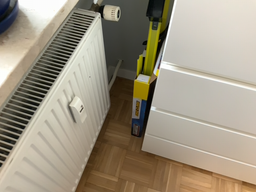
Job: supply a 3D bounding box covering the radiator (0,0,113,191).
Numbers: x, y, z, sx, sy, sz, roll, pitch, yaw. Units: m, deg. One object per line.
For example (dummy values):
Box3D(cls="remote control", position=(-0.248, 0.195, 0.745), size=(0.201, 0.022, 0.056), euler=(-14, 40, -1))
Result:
Box3D(cls="radiator", position=(-0.230, 0.070, 0.840), size=(0.150, 0.730, 0.690), euler=(12, 58, 5))
